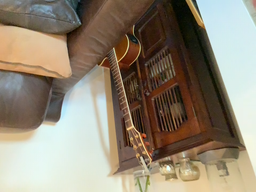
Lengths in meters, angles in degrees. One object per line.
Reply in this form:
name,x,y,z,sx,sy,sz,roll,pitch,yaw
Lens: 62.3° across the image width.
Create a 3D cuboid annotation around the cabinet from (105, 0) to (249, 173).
cabinet,0.190,-0.100,1.330,0.360,1.010,0.620,15,146,-34
